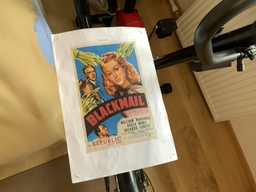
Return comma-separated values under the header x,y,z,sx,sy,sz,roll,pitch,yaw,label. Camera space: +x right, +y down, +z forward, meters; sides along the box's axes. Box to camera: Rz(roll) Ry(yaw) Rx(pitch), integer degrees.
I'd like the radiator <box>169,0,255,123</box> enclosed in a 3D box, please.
x,y,z,sx,sy,sz,roll,pitch,yaw,label
0.580,-0.300,1.180,0.190,0.590,0.820,-14,83,-21,radiator
